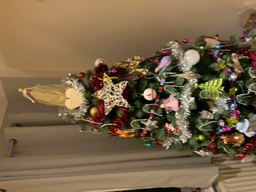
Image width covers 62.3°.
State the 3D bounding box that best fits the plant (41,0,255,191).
[{"bbox_3d":[0.440,-0.050,1.400,1.020,1.680,0.920,-103,18,-44],"label":"plant"}]
